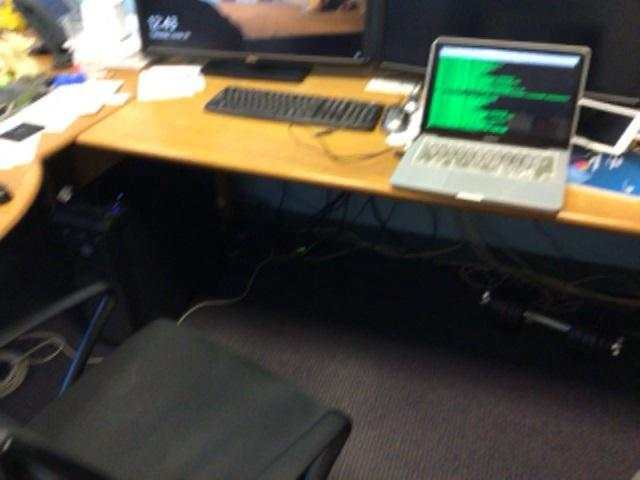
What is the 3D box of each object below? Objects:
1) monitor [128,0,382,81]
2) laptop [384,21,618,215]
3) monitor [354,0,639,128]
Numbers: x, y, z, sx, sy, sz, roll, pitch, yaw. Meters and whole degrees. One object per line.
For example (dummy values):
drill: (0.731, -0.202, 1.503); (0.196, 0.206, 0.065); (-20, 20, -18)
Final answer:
monitor: (-0.180, -0.700, 1.590); (0.690, 0.460, 0.150); (5, 34, 10)
laptop: (0.360, -0.270, 1.170); (0.370, 0.230, 0.370); (10, 36, 17)
monitor: (0.440, -0.570, 1.370); (0.700, 0.460, 0.180); (15, 37, 23)
